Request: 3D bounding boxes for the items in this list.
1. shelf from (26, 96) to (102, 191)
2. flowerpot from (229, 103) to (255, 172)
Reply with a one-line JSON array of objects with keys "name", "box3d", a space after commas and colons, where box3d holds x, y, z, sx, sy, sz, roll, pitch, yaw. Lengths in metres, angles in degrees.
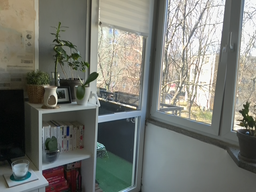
[{"name": "shelf", "box3d": [-0.490, 0.620, 1.580, 0.400, 1.190, 0.350, -3, 11, -41]}, {"name": "flowerpot", "box3d": [0.840, 0.270, 1.390, 0.110, 0.410, 0.250, -2, 10, -37]}]
